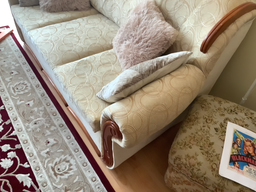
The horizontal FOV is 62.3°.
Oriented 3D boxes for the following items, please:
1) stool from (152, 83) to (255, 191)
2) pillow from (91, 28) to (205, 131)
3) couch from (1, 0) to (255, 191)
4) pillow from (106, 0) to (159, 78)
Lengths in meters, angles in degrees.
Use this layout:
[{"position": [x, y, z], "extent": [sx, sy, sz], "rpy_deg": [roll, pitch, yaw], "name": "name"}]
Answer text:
[{"position": [0.520, 0.340, 1.210], "extent": [0.530, 0.440, 0.540], "rpy_deg": [24, 50, 15], "name": "stool"}, {"position": [0.120, -0.110, 1.160], "extent": [0.540, 0.280, 0.190], "rpy_deg": [-35, 29, -13], "name": "pillow"}, {"position": [-0.200, -0.560, 1.630], "extent": [1.020, 0.910, 1.960], "rpy_deg": [-26, 55, -26], "name": "couch"}, {"position": [0.040, -0.380, 1.350], "extent": [0.150, 0.350, 0.400], "rpy_deg": [-24, 72, 1], "name": "pillow"}]
